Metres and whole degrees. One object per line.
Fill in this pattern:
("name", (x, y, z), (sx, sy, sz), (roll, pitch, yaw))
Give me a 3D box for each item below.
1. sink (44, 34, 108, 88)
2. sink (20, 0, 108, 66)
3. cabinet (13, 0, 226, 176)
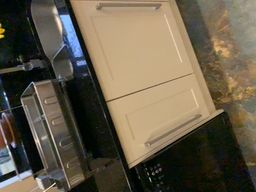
("sink", (-0.310, -0.190, 1.220), (0.360, 0.200, 0.160), (-21, 88, 53))
("sink", (-0.400, -0.490, 1.240), (0.430, 0.240, 0.470), (-21, 88, 53))
("cabinet", (-0.070, -0.330, 1.450), (0.620, 0.920, 1.330), (-21, 88, 53))
